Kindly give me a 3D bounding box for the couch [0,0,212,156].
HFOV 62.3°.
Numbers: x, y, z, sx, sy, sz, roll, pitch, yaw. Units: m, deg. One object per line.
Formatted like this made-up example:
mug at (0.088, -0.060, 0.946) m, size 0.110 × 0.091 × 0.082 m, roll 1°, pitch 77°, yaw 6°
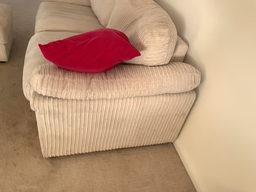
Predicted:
couch at (-0.350, -0.610, 1.950) m, size 0.990 × 0.800 × 2.040 m, roll -2°, pitch 41°, yaw -17°
